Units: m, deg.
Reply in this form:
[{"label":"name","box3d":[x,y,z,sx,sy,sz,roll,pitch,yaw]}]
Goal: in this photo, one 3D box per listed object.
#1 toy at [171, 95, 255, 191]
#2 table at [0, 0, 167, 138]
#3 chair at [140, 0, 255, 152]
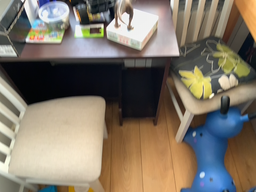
[{"label":"toy","box3d":[0.440,0.350,1.110,0.300,0.460,0.480,13,57,8]},{"label":"table","box3d":[-0.210,-0.200,1.320,0.750,0.740,0.630,3,56,1]},{"label":"chair","box3d":[0.390,-0.160,1.180,0.440,0.930,0.530,-14,57,-10]}]
